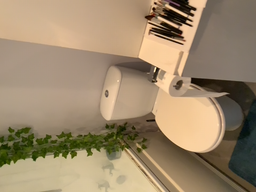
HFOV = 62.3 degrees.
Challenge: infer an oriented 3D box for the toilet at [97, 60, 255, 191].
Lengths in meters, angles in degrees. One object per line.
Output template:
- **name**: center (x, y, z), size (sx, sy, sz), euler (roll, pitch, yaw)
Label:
- **toilet**: center (0.330, 0.140, 1.310), size (0.690, 0.740, 0.450), euler (40, 121, 48)
